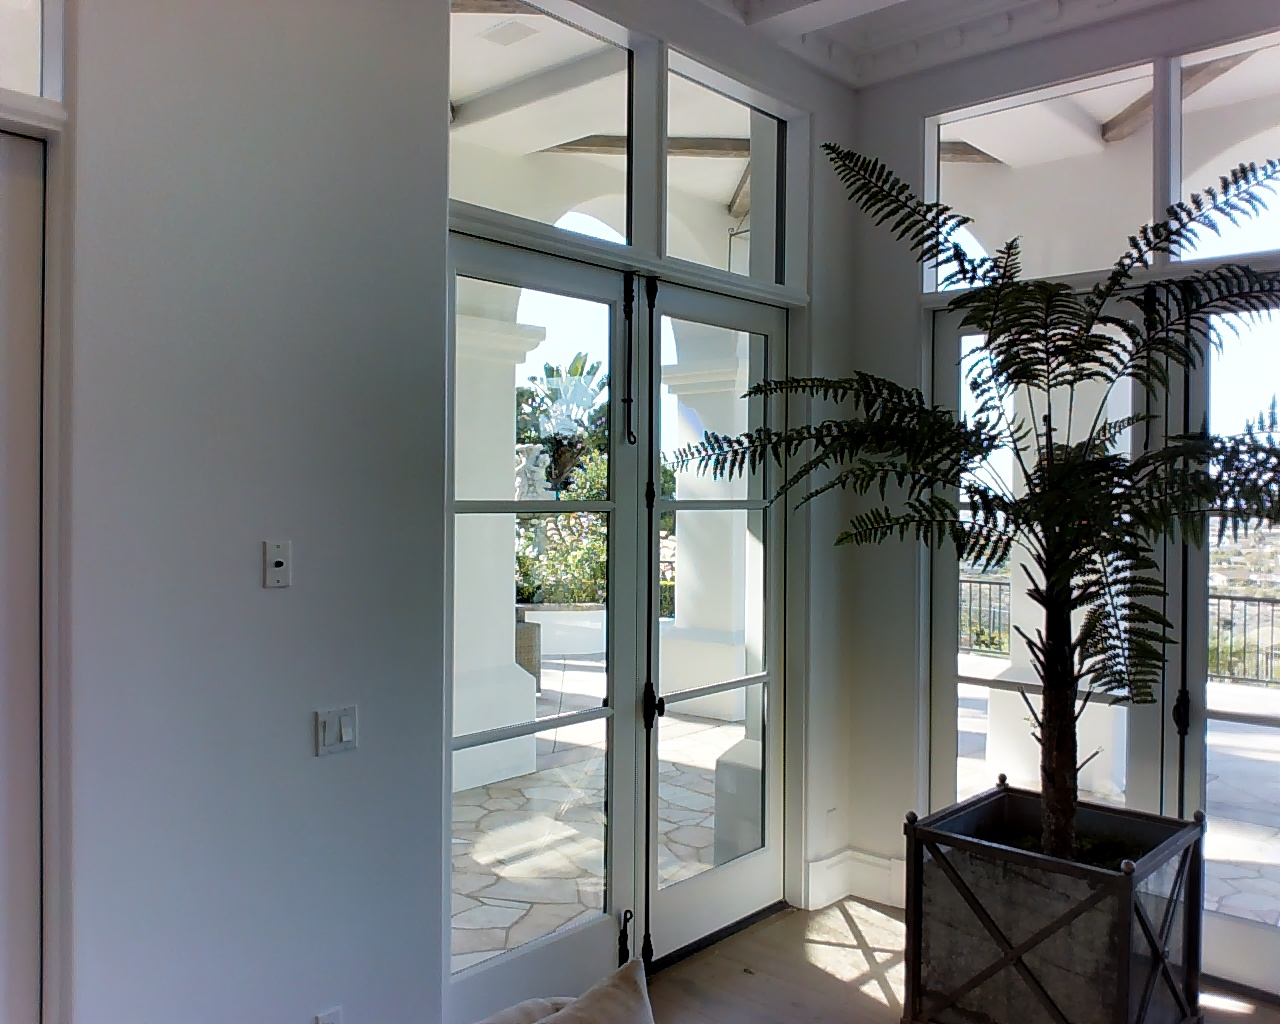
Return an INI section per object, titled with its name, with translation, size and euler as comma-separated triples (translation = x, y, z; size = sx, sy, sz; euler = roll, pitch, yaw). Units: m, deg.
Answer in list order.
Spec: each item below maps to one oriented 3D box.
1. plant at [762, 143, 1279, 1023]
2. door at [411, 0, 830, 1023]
[plant]
translation = 1.400, 0.370, 3.540
size = 1.680, 2.611, 0.970
euler = 1, 0, 42
[door]
translation = 0.050, 0.050, 3.700
size = 0.190, 3.211, 1.810
euler = 1, 0, 42
